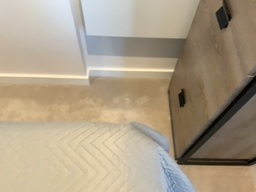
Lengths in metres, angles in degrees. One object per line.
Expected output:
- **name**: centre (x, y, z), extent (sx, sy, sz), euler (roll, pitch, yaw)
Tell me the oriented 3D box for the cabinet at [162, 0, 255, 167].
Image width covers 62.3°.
- **cabinet**: centre (0.510, -0.090, 0.910), extent (0.490, 1.060, 0.540), euler (1, 60, -2)
